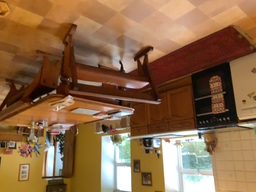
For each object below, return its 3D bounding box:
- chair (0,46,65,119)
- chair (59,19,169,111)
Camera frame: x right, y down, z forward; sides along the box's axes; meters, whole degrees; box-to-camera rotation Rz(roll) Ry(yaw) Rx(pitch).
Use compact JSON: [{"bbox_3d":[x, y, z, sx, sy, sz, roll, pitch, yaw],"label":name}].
[{"bbox_3d":[-1.460,-0.110,3.130,0.380,0.680,1.410,13,159,-42],"label":"chair"},{"bbox_3d":[-0.140,-0.280,2.460,1.150,0.750,0.440,8,162,-29],"label":"chair"}]
